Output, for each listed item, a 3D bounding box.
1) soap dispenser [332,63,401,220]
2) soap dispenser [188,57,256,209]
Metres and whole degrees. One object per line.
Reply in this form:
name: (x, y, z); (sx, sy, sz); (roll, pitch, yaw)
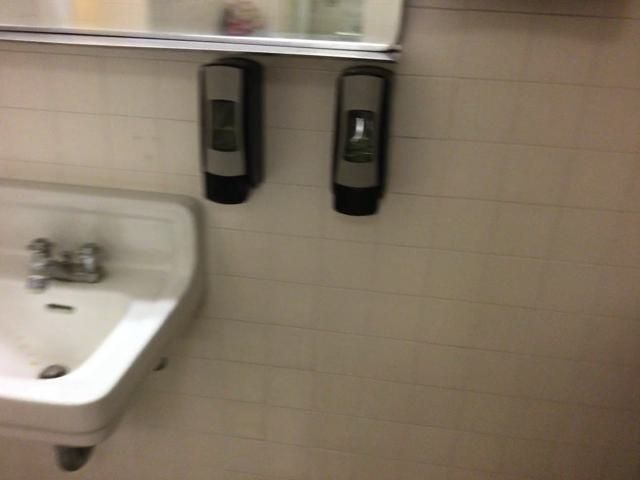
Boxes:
soap dispenser: (0.080, -0.170, 1.000); (0.100, 0.250, 0.090); (4, 23, 8)
soap dispenser: (-0.170, -0.190, 1.030); (0.090, 0.250, 0.080); (4, 23, 8)
